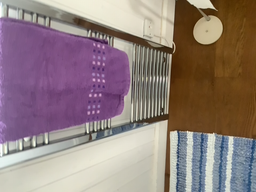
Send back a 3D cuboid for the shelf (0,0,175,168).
[{"bbox_3d":[-0.040,-0.060,0.910,0.080,1.020,0.410,3,94,35],"label":"shelf"}]
